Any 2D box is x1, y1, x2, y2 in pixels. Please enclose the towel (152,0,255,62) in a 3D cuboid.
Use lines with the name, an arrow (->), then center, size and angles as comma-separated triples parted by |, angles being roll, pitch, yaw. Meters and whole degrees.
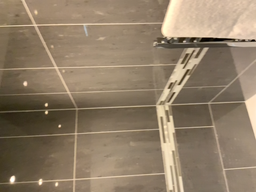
towel -> 0.390, -0.240, 0.690 | 0.340, 0.560, 0.100 | 103, 164, -73
